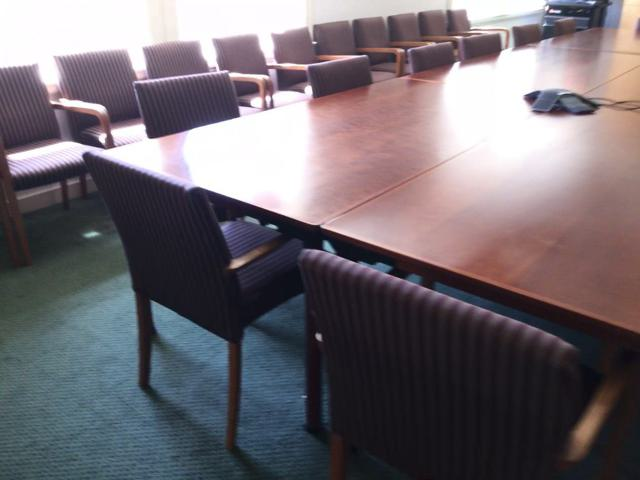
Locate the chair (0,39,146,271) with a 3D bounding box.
[{"bbox_3d":[-1.370,-0.450,2.780,0.620,0.830,0.680,22,36,34],"label":"chair"}]

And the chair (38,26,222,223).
[{"bbox_3d":[-1.020,-0.670,3.220,0.610,0.850,0.620,22,36,34],"label":"chair"}]

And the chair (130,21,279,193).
[{"bbox_3d":[-0.680,-0.840,3.550,0.610,0.830,0.570,22,36,34],"label":"chair"}]

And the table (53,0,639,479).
[{"bbox_3d":[1.660,-0.720,3.410,2.130,0.830,5.470,22,36,34],"label":"table"}]

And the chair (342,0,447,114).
[{"bbox_3d":[0.640,-1.650,5.060,0.600,0.840,0.660,22,36,34],"label":"chair"}]

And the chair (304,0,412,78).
[{"bbox_3d":[0.300,-1.630,4.610,0.600,0.470,0.600,22,36,34],"label":"chair"}]

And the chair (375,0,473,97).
[{"bbox_3d":[0.970,-1.890,5.450,0.600,0.850,0.650,22,36,34],"label":"chair"}]

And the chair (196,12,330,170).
[{"bbox_3d":[-0.360,-1.030,3.910,0.570,0.840,0.640,22,36,34],"label":"chair"}]

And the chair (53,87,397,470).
[{"bbox_3d":[-0.250,0.050,1.850,0.630,0.830,0.740,22,36,34],"label":"chair"}]

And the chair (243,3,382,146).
[{"bbox_3d":[-0.050,-1.260,4.300,0.680,0.820,0.720,22,36,34],"label":"chair"}]

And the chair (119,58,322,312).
[{"bbox_3d":[-0.420,-0.280,2.530,0.580,0.830,0.650,-19,34,-30],"label":"chair"}]
